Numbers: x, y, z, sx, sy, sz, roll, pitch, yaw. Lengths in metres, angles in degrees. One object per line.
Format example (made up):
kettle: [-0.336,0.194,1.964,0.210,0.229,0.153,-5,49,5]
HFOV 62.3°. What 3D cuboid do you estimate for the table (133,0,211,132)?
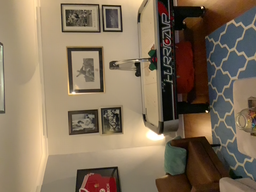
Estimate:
table: [0.640,-0.600,3.510,1.240,0.810,2.100,-165,72,-81]
